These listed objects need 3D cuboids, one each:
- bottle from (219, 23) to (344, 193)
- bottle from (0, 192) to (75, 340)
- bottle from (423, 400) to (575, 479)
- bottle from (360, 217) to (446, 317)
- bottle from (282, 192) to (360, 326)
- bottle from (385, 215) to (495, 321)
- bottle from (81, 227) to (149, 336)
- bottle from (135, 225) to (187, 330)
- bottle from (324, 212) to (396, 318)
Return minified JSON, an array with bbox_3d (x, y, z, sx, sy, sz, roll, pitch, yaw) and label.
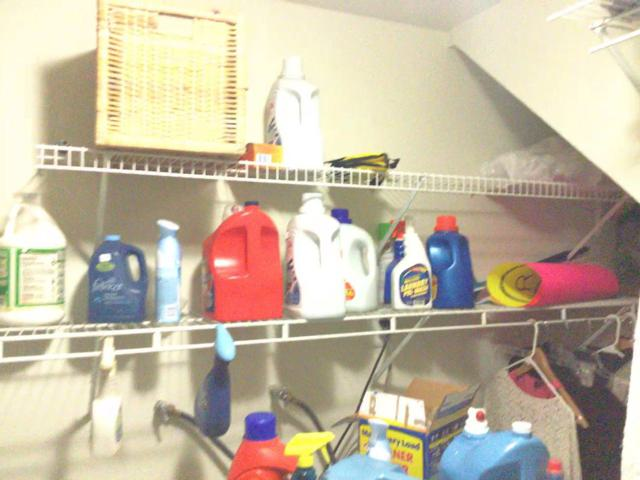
[{"bbox_3d":[-0.110,-0.330,1.550,0.250,0.360,0.280,2,-3,-23],"label":"bottle"},{"bbox_3d":[-0.670,0.060,1.350,0.170,0.320,0.160,2,-3,-23],"label":"bottle"},{"bbox_3d":[0.350,0.490,1.150,0.210,0.280,0.200,2,-3,-23],"label":"bottle"},{"bbox_3d":[0.240,0.080,1.710,0.140,0.270,0.250,2,-3,-23],"label":"bottle"},{"bbox_3d":[0.000,0.050,1.480,0.150,0.320,0.150,2,-3,-23],"label":"bottle"},{"bbox_3d":[0.340,0.080,1.650,0.270,0.280,0.150,2,-3,-23],"label":"bottle"},{"bbox_3d":[-0.510,0.100,1.430,0.140,0.250,0.170,2,-3,-23],"label":"bottle"},{"bbox_3d":[-0.390,0.090,1.410,0.100,0.240,0.140,2,-3,-23],"label":"bottle"},{"bbox_3d":[0.110,0.070,1.610,0.150,0.280,0.140,2,-3,-23],"label":"bottle"}]
